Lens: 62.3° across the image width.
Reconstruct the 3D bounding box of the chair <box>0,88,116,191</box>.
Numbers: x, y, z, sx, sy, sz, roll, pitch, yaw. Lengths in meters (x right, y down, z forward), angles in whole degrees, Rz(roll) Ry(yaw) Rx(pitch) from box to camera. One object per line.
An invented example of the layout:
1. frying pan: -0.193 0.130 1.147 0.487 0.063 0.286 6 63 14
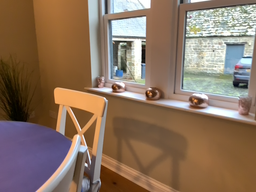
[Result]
1. chair: -0.390 0.450 1.140 0.420 0.870 0.500 10 17 35
